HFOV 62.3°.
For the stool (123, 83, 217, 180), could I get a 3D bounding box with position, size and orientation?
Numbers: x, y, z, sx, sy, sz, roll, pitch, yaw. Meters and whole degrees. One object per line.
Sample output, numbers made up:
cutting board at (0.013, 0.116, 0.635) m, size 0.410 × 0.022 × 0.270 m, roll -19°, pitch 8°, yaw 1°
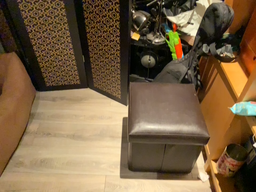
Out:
stool at (0.200, 0.210, 1.330) m, size 0.450 × 0.370 × 0.460 m, roll -1°, pitch 44°, yaw -2°
